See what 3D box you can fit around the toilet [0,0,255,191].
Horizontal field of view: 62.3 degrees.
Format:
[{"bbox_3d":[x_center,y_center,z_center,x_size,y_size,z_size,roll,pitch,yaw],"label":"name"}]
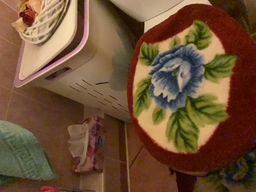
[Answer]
[{"bbox_3d":[0.160,-0.150,0.660,0.380,0.780,0.740,-21,55,26],"label":"toilet"}]
